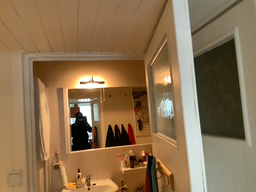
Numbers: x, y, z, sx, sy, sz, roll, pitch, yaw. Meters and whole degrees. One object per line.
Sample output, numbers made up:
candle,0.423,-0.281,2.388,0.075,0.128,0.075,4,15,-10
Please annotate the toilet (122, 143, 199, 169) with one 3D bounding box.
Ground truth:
toilet,0.440,0.790,2.830,1.010,0.210,0.180,-3,-4,-13
